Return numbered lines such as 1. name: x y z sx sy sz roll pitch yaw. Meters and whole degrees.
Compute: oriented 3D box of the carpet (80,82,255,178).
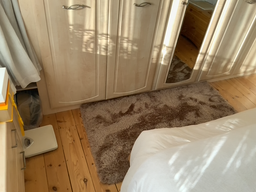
1. carpet: 0.390 0.210 2.030 1.530 0.020 0.760 -10 44 -20
